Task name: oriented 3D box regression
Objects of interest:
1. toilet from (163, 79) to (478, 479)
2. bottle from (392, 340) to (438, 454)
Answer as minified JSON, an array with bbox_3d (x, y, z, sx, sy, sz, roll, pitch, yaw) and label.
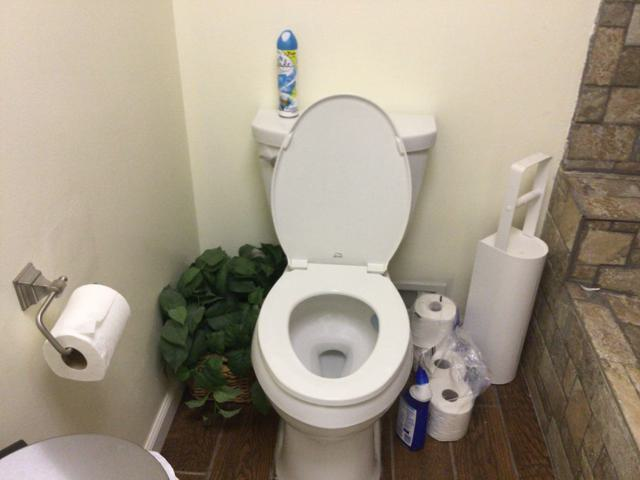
[{"bbox_3d":[0.040,0.130,1.440,0.500,0.870,0.730,2,29,6],"label":"toilet"},{"bbox_3d":[0.250,0.420,1.550,0.100,0.250,0.160,2,29,6],"label":"bottle"}]
